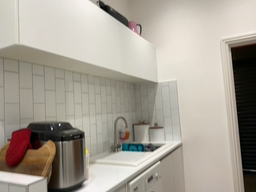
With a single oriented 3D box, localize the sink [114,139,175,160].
[{"bbox_3d":[0.200,0.570,2.340,0.490,0.100,0.550,-5,-4,29],"label":"sink"}]
